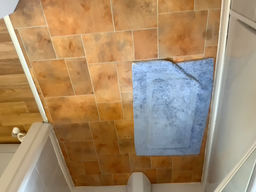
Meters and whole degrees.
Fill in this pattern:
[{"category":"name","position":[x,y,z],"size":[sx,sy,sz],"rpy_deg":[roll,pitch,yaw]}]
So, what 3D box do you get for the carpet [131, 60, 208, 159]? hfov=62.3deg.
[{"category":"carpet","position":[0.250,0.140,1.440],"size":[0.430,0.040,0.800],"rpy_deg":[-1,124,2]}]
